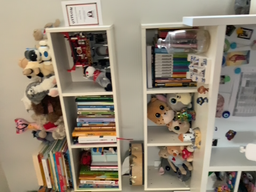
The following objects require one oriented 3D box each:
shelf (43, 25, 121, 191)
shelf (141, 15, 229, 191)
[{"bbox_3d":[-0.220,0.120,1.260,0.220,0.310,1.010,-86,-5,-69],"label":"shelf"},{"bbox_3d":[0.240,0.120,1.160,0.390,0.310,1.040,-86,-5,-69],"label":"shelf"}]
